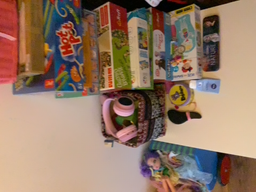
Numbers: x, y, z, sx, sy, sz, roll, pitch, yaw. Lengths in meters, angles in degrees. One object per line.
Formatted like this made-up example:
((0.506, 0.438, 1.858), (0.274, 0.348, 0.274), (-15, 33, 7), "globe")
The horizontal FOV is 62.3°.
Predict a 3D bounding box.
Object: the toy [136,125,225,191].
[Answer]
((0.300, 0.360, 1.160), (0.300, 0.430, 0.310), (3, 93, 41), "toy")
